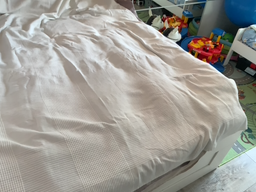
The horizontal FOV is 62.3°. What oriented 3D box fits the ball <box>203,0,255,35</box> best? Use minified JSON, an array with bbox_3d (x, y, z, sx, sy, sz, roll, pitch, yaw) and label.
[{"bbox_3d":[1.400,-1.140,2.480,0.640,0.500,0.600,-21,49,-28],"label":"ball"}]
